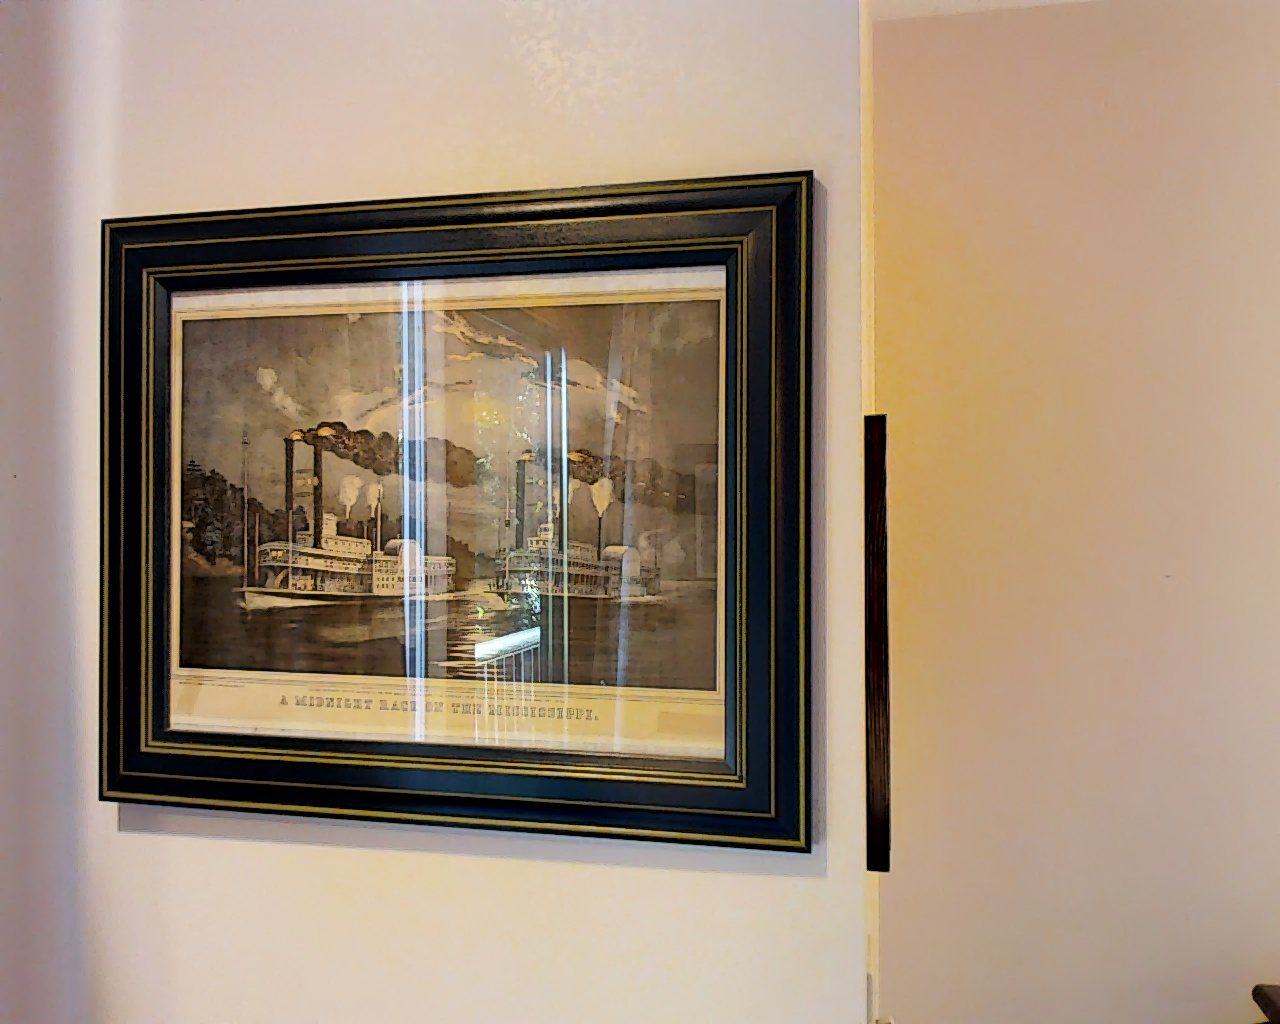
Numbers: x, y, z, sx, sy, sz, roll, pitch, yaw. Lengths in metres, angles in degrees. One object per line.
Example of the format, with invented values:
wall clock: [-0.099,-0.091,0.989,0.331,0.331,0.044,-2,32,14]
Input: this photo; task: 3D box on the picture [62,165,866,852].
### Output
picture: [-0.120,0.010,0.640,0.480,0.370,0.020,-3,0,12]
